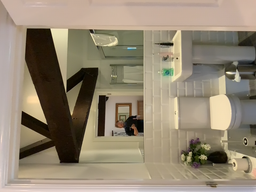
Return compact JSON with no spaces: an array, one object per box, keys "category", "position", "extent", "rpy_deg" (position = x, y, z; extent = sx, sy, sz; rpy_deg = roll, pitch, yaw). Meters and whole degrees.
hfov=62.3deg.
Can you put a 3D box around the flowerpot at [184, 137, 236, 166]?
[{"category":"flowerpot","position":[0.860,0.590,2.270],"extent":[0.200,0.470,0.270],"rpy_deg":[90,180,-84]}]
